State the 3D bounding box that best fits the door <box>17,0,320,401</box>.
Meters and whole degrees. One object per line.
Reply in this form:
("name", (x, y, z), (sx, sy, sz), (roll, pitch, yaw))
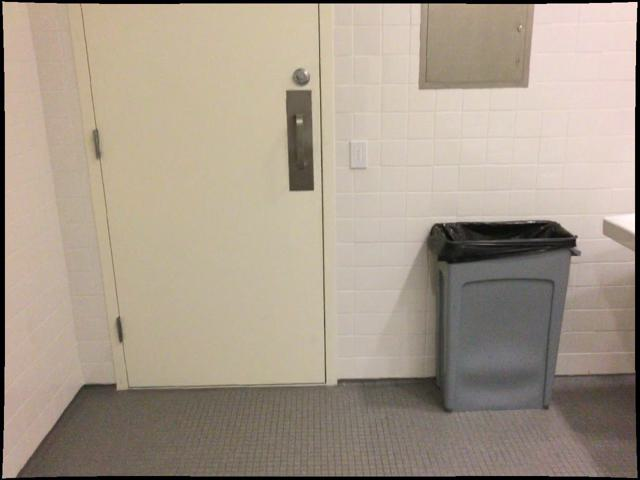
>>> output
("door", (-0.559, -0.190, 2.400), (1.087, 1.894, 0.170), (1, 19, -1))
